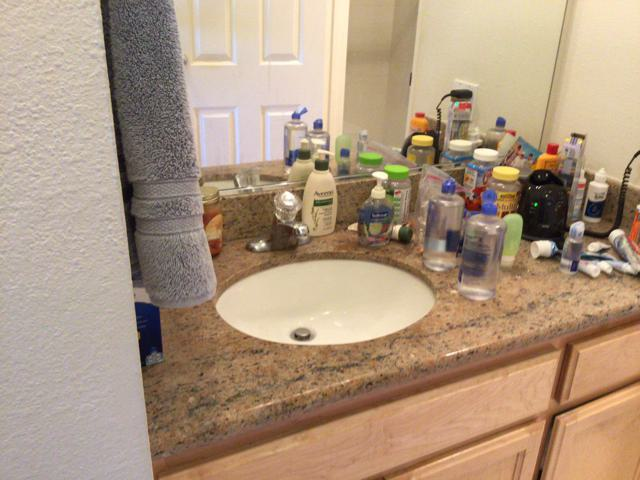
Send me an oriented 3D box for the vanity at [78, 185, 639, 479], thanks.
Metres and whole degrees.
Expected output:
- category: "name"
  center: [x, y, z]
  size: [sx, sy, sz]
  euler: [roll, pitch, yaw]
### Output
- category: "vanity"
  center: [0.180, 0.400, 1.340]
  size: [1.240, 0.770, 0.590]
  euler: [-9, 28, -23]
